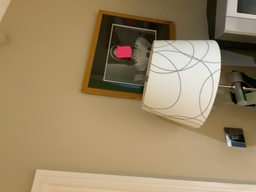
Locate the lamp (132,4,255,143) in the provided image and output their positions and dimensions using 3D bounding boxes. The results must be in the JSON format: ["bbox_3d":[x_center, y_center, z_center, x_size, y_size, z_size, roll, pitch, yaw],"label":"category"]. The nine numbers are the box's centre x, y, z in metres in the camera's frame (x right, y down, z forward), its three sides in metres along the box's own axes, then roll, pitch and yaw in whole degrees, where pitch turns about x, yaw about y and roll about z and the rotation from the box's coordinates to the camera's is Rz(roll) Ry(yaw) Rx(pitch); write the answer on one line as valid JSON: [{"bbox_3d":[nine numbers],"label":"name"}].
[{"bbox_3d":[0.440,-0.060,0.860,0.340,0.800,0.380,100,175,-59],"label":"lamp"}]
